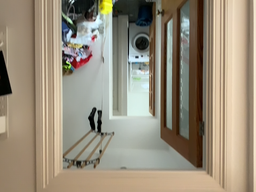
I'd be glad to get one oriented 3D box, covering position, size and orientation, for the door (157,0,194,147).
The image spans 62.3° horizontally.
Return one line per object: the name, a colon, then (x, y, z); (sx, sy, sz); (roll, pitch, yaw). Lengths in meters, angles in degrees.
door: (0.320, -0.650, 1.560); (0.080, 1.870, 0.750); (0, -179, -2)
